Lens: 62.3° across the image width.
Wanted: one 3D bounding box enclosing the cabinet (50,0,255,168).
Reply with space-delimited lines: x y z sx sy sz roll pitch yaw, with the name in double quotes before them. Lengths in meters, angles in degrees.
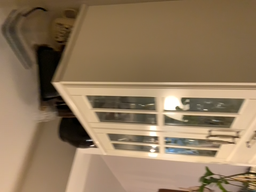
"cabinet" 0.240 -0.010 0.940 0.650 0.830 0.400 77 -162 -54
